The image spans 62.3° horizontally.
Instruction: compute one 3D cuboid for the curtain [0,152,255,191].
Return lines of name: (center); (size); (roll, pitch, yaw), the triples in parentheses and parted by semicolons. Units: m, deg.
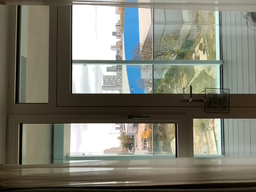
curtain: (0.330, 0.670, 1.500); (0.280, 2.550, 0.480); (-178, 88, -88)
